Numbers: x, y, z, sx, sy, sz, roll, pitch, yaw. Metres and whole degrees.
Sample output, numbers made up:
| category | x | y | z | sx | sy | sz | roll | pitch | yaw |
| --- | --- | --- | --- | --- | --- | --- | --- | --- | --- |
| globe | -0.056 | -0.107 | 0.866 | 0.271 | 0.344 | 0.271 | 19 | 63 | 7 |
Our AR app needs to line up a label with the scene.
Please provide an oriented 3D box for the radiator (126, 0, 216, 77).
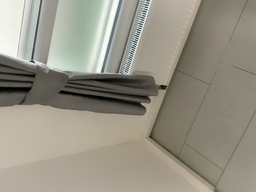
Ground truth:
| category | x | y | z | sx | sy | sz | roll | pitch | yaw |
| --- | --- | --- | --- | --- | --- | --- | --- | --- | --- |
| radiator | 0.350 | -0.600 | 1.220 | 0.070 | 0.510 | 1.010 | 36 | 116 | 40 |
